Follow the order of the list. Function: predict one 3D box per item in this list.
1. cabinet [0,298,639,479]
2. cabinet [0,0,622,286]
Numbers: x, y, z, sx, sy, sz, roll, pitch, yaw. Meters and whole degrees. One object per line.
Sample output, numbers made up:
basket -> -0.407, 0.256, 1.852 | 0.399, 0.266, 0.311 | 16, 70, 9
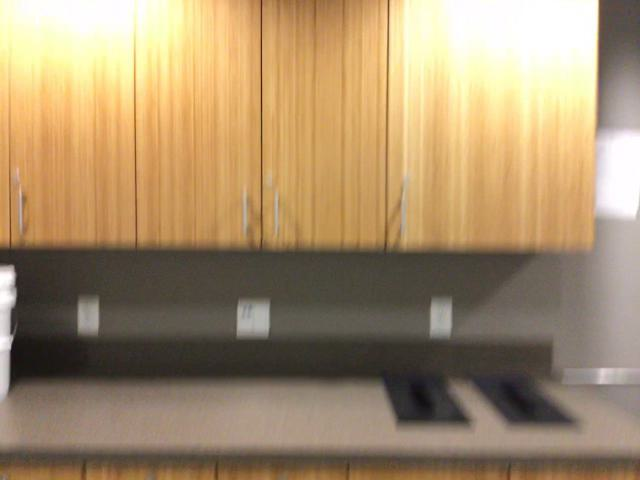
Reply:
cabinet -> -0.250, 0.820, 1.660 | 2.130, 1.140, 0.790 | 3, -1, -1
cabinet -> -0.250, -0.460, 1.730 | 2.170, 1.060, 0.250 | 3, -1, -1
